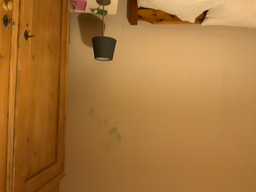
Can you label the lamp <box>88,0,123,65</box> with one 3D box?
[{"bbox_3d":[-0.180,-0.500,1.650,0.180,0.460,0.240,3,177,-24],"label":"lamp"}]
